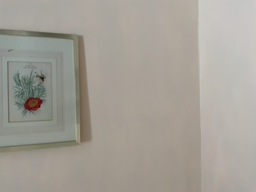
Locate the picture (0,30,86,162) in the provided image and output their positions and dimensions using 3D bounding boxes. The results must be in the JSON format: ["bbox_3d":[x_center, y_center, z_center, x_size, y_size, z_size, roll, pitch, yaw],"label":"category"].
[{"bbox_3d":[-0.330,0.000,0.790,0.340,0.450,0.020,-1,-178,-27],"label":"picture"}]
